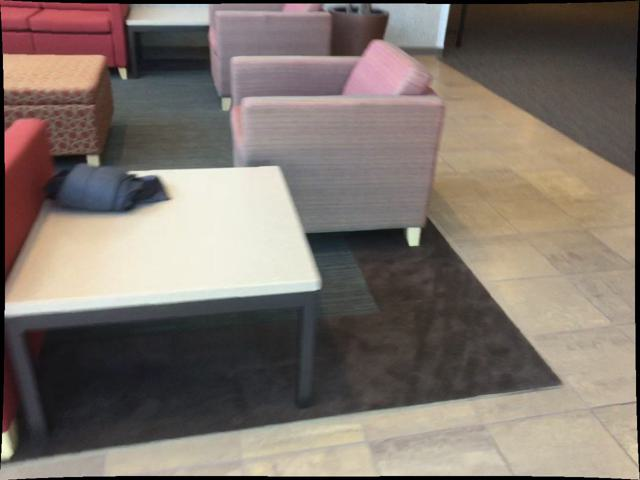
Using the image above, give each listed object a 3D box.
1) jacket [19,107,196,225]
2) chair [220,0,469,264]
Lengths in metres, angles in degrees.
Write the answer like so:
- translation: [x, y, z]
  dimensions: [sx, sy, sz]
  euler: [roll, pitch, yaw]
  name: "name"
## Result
- translation: [-0.619, -0.240, 1.780]
  dimensions: [0.449, 0.230, 0.330]
  euler: [-3, 31, -10]
  name: "jacket"
- translation: [0.020, -0.541, 2.530]
  dimensions: [0.839, 0.961, 0.800]
  euler: [-3, 31, -10]
  name: "chair"
